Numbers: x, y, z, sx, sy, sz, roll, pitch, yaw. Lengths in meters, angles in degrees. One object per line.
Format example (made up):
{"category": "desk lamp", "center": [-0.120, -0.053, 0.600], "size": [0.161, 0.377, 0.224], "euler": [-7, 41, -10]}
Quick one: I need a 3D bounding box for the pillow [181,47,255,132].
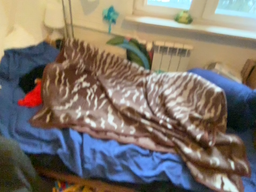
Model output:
{"category": "pillow", "center": [0.680, -0.080, 1.610], "size": [0.490, 0.270, 0.580], "euler": [11, 41, 6]}
